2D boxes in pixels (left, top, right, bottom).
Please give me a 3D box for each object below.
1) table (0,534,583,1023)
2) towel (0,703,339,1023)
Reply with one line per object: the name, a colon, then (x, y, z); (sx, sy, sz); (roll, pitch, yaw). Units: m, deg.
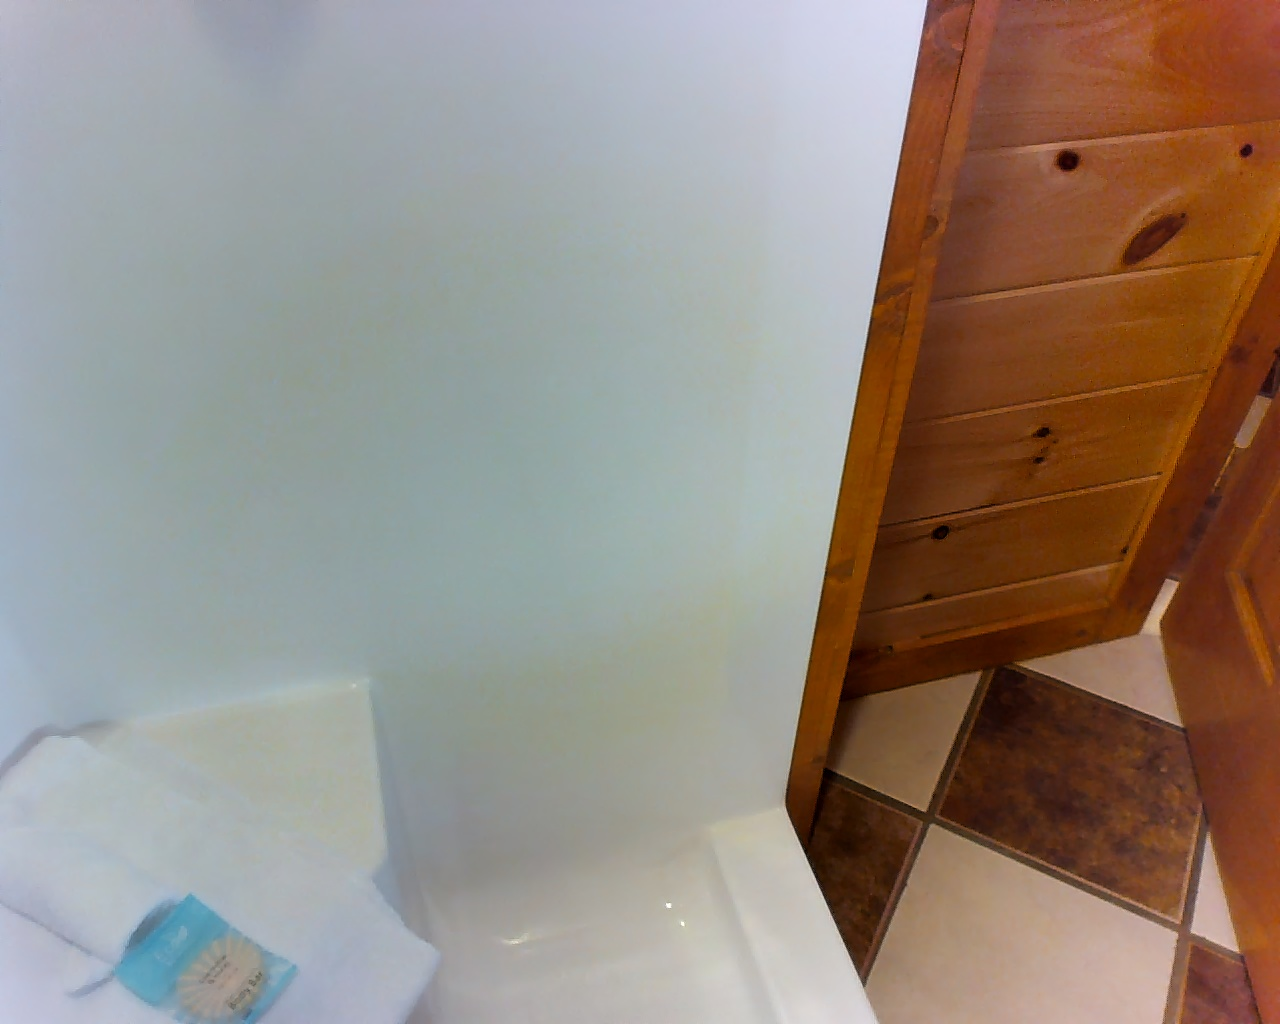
table: (-0.370, 0.440, 0.920); (0.400, 0.490, 0.590); (20, 45, 19)
towel: (-0.400, 0.270, 0.740); (0.310, 0.040, 0.200); (18, 44, 17)
